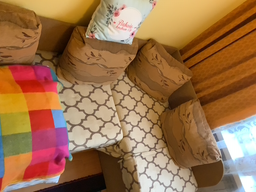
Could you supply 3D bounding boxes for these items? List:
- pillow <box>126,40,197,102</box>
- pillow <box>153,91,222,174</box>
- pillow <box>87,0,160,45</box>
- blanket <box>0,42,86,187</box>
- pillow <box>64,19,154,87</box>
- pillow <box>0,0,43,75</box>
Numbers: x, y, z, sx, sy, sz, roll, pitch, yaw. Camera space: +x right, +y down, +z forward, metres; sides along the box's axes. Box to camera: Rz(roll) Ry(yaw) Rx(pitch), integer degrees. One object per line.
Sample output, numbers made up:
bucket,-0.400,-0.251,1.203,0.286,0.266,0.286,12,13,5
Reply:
pillow,0.290,-0.220,1.980,0.550,0.340,0.200,28,64,6
pillow,0.510,0.320,1.890,0.210,0.340,0.640,0,67,-42
pillow,-0.040,-0.510,1.380,0.340,0.340,0.140,-2,67,-30
blanket,-0.710,0.100,1.020,0.820,0.300,0.670,-4,69,-43
pillow,-0.170,-0.310,1.620,0.540,0.470,0.250,-7,67,-24
pillow,-0.770,-0.330,1.140,0.530,0.420,0.260,-8,68,-22
